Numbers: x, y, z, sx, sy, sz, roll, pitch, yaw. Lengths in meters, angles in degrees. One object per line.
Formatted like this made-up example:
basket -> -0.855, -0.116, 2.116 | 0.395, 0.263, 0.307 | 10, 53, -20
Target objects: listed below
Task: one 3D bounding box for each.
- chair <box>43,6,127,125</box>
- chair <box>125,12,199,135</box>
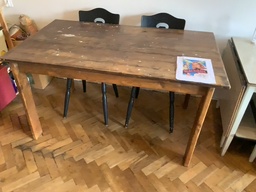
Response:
chair -> -0.320, -0.290, 1.970 | 0.470, 0.840, 0.630 | 9, 38, 9
chair -> 0.280, -0.210, 1.890 | 0.470, 0.840, 0.630 | 9, 38, 9
